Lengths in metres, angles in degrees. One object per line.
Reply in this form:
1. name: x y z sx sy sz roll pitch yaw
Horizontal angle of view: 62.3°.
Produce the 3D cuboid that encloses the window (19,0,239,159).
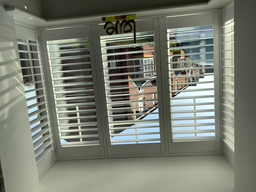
1. window: 0.020 -0.170 1.930 1.730 1.390 0.340 -3 -171 8
